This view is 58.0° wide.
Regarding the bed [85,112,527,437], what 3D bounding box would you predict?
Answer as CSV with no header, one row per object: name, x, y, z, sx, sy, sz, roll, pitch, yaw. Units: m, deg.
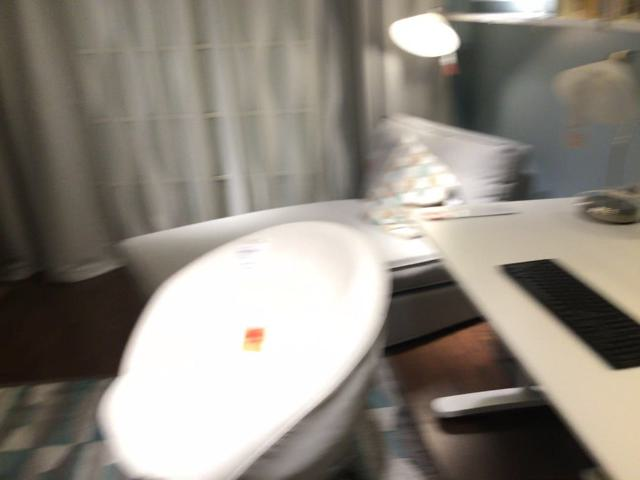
bed,-0.070,-0.030,2.610,1.560,0.810,1.070,-14,24,-28

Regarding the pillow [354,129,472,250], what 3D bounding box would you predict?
pillow,0.400,-0.250,2.640,0.390,0.410,0.490,-5,21,-7
